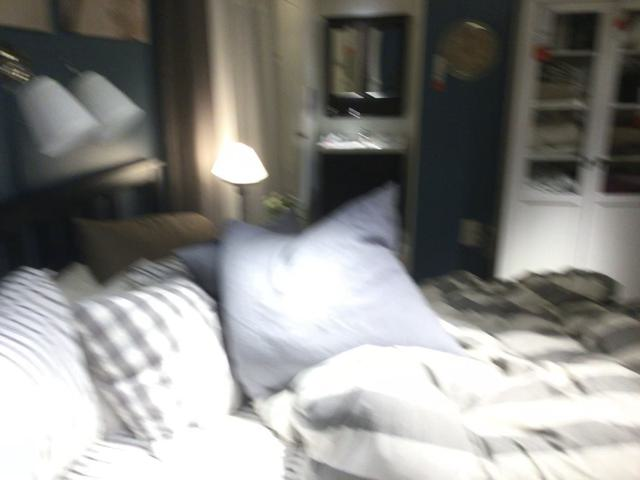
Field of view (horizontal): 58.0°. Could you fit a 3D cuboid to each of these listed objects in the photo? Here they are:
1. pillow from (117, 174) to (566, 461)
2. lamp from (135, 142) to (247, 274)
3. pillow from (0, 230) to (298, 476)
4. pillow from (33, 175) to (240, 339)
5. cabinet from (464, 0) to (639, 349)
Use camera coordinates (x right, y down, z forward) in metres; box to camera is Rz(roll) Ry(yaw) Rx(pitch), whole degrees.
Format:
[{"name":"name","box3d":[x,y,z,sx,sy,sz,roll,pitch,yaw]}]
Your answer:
[{"name":"pillow","box3d":[0.080,0.120,1.470,0.900,0.470,0.580,2,17,14]},{"name":"lamp","box3d":[-0.590,-0.160,2.720,0.370,0.560,0.290,2,17,14]},{"name":"pillow","box3d":[-0.440,0.240,1.600,0.570,0.350,0.690,2,17,14]},{"name":"pillow","box3d":[-0.630,0.010,2.210,0.320,0.370,0.850,2,17,14]},{"name":"cabinet","box3d":[1.370,-0.410,3.340,0.980,1.970,0.480,2,17,15]}]
